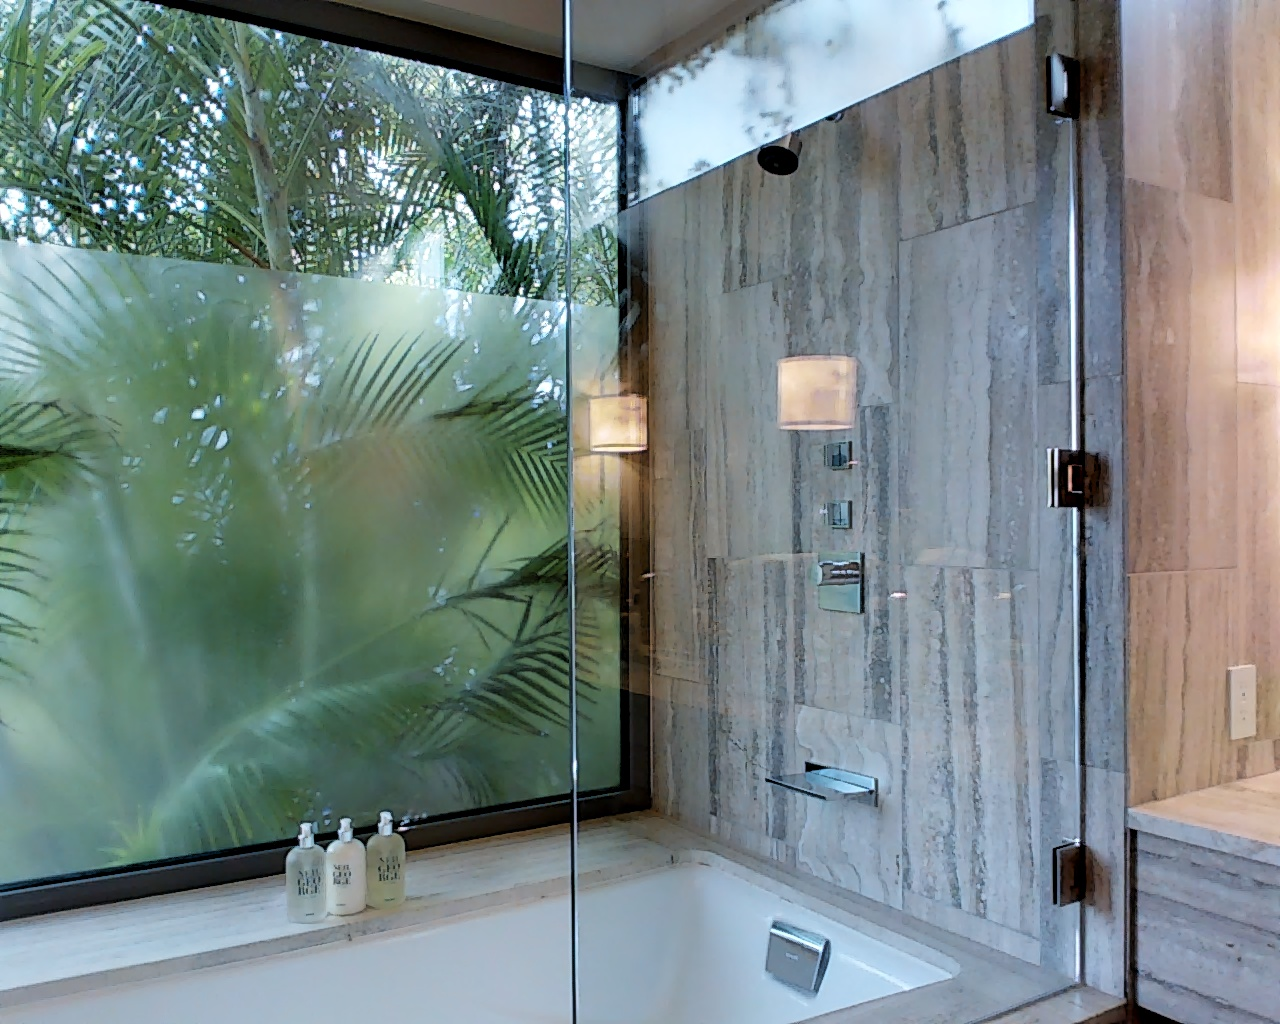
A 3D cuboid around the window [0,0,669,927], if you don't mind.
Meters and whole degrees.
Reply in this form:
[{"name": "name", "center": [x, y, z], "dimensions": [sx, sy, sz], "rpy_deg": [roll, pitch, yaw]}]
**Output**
[{"name": "window", "center": [-0.860, -0.170, 2.240], "dimensions": [2.130, 1.860, 0.090], "rpy_deg": [-1, 0, -32]}]
